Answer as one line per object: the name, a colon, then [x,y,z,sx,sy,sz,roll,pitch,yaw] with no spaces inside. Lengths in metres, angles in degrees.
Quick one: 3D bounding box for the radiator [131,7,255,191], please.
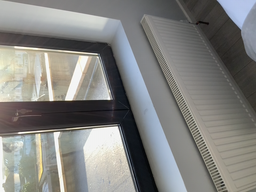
radiator: [0.490,-0.090,1.360,0.100,0.610,1.250,-56,44,46]
